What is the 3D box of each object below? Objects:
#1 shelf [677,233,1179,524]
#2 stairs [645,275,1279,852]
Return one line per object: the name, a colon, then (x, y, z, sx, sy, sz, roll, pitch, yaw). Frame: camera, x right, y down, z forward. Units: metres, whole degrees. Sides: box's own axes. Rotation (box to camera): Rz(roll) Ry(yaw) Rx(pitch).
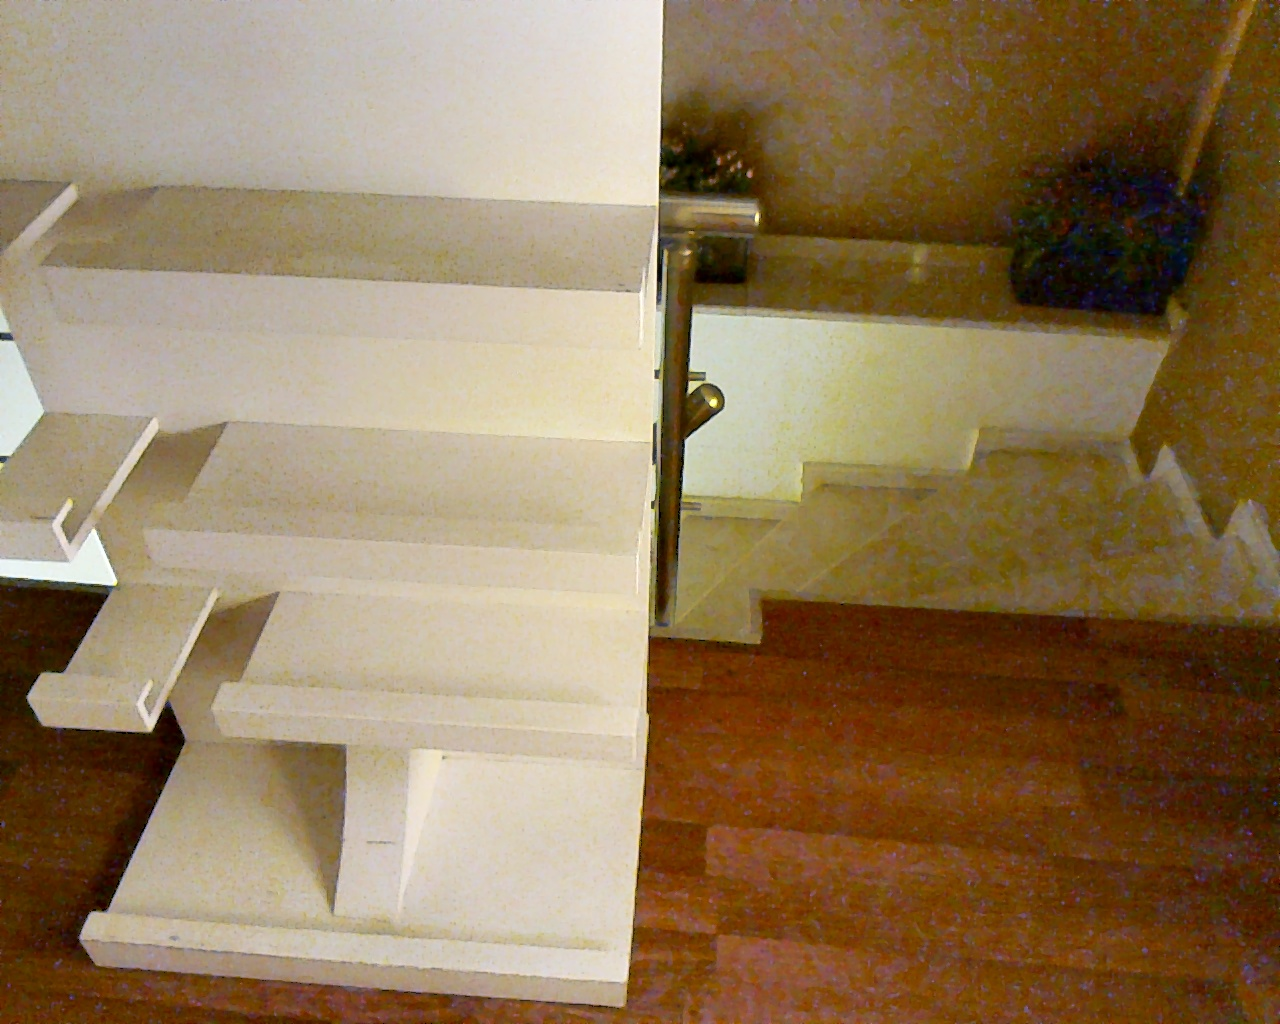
shelf: (0.860, -0.430, 3.550, 1.420, 0.780, 0.370, 5, 42, 4)
stairs: (0.800, 0.090, 3.010, 1.440, 0.900, 1.220, 5, 42, 4)
